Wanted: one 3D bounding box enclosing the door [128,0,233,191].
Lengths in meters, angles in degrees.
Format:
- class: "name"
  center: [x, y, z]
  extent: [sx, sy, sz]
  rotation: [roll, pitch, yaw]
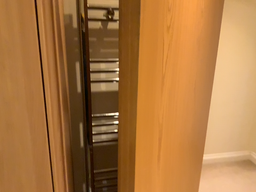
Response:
- class: "door"
  center: [0.230, 0.460, 0.870]
  extent: [0.060, 2.030, 0.870]
  rotation: [10, 18, 28]
